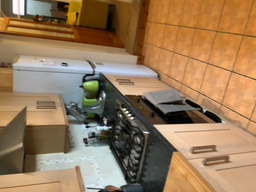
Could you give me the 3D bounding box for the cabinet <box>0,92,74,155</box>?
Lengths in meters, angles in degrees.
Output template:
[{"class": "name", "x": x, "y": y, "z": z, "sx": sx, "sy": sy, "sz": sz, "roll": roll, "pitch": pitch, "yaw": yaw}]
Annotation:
[{"class": "cabinet", "x": -1.030, "y": 0.230, "z": 2.140, "sx": 0.800, "sy": 0.810, "sz": 0.270, "roll": -135, "pitch": 51, "yaw": -59}]
